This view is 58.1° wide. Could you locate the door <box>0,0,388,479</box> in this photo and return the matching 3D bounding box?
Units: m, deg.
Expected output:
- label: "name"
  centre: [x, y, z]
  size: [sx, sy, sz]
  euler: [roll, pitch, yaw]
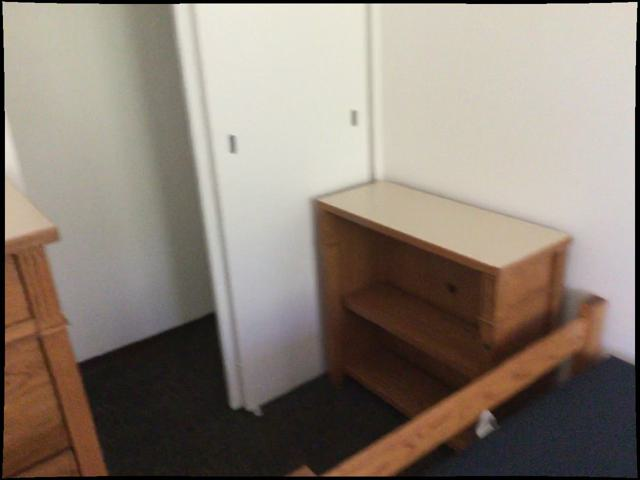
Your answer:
- label: "door"
  centre: [-0.369, -0.120, 1.860]
  size: [1.328, 1.663, 0.190]
  euler: [-20, 29, -30]
